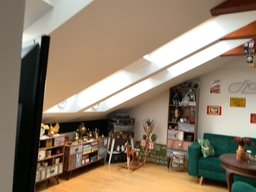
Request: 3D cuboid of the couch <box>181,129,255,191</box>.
[{"bbox_3d":[2.350,1.220,3.850,2.500,0.860,0.960,3,-1,26],"label":"couch"}]
